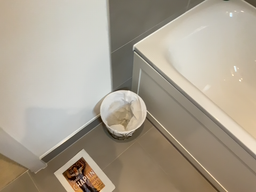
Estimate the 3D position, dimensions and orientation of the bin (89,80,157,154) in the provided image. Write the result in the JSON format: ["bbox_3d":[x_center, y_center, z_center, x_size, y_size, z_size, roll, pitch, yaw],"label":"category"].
[{"bbox_3d":[-0.030,0.130,1.250,0.290,0.270,0.220,-37,69,-20],"label":"bin"}]
